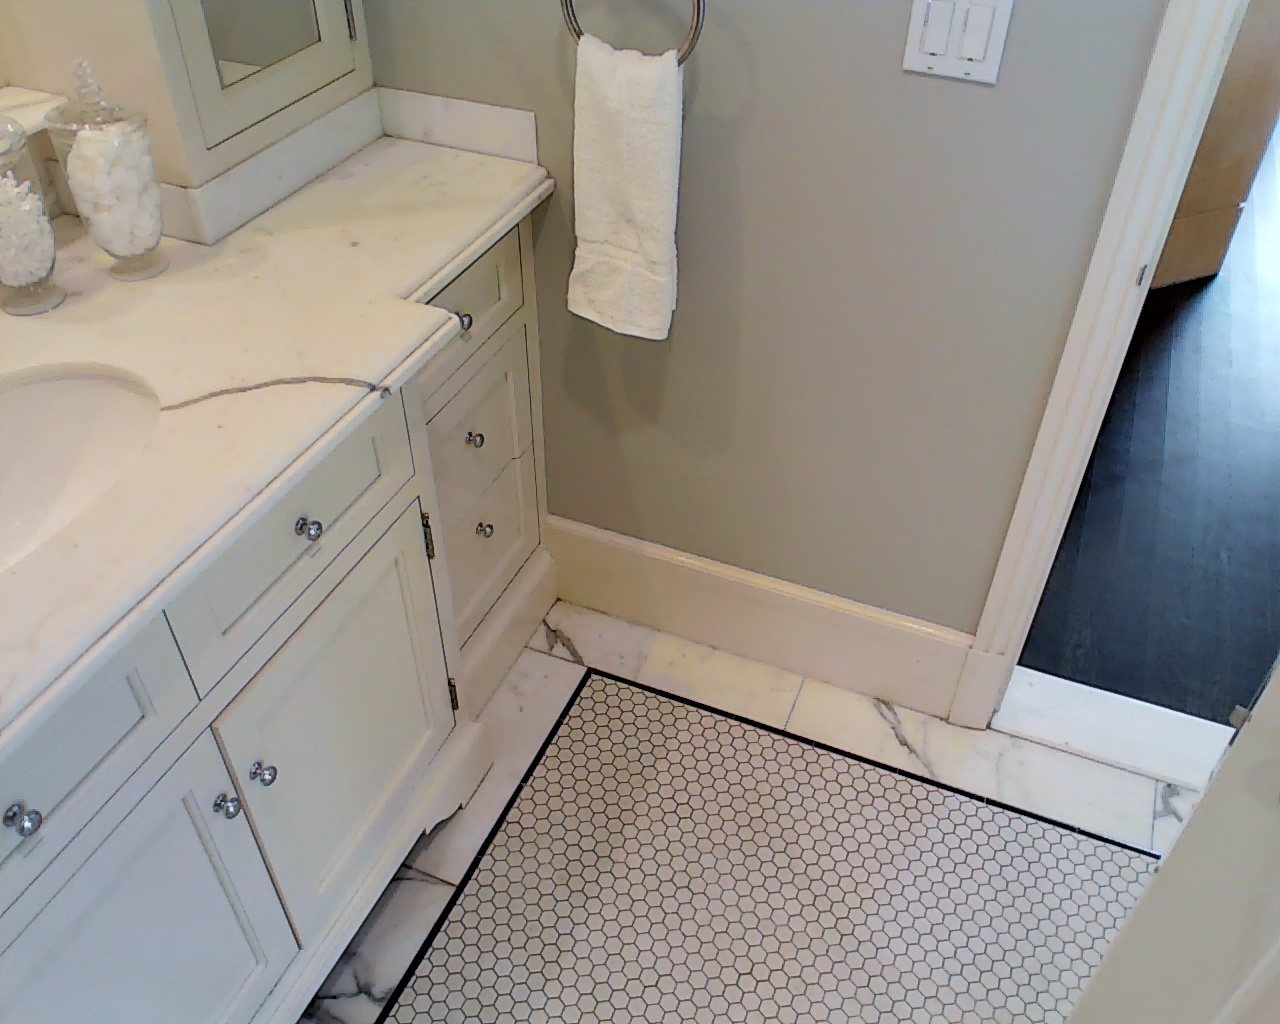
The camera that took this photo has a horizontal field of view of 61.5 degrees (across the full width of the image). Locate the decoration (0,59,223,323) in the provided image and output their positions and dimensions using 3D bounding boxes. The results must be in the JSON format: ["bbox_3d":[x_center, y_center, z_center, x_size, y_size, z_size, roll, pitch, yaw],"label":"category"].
[{"bbox_3d":[-0.730,-0.400,1.310,0.280,0.180,0.260,16,44,17],"label":"decoration"}]

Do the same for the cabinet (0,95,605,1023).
[{"bbox_3d":[-0.710,0.290,1.370,0.610,0.930,1.820,16,44,17],"label":"cabinet"}]
